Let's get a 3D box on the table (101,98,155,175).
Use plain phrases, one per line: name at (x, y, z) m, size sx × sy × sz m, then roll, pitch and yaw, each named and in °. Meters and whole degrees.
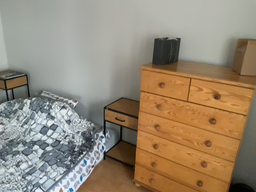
table at (-0.010, 0.410, 2.280) m, size 0.420 × 0.630 × 0.370 m, roll 14°, pitch 23°, yaw 28°
